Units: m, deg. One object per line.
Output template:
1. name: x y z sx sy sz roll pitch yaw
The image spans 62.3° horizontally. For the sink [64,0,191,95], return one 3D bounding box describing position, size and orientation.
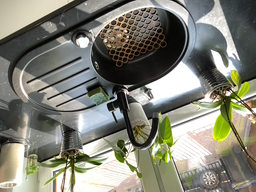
1. sink: 0.020 -0.240 0.880 0.390 0.150 0.400 -23 141 9
